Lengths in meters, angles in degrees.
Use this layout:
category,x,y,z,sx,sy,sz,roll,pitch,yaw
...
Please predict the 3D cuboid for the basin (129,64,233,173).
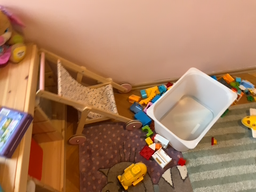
category,x,y,z,sx,sy,sz,roll,pitch,yaw
basin,0.300,0.110,1.220,0.330,0.190,0.500,35,66,22
